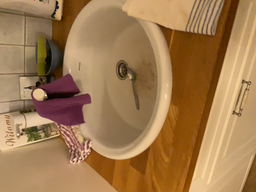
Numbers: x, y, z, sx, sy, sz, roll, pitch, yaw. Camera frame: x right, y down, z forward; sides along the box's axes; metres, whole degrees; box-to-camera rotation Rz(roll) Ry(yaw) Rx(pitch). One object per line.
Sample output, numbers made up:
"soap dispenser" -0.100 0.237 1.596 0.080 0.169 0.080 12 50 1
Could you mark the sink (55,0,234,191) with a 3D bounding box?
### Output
"sink" -0.010 -0.050 0.660 0.460 0.200 0.470 24 112 40
